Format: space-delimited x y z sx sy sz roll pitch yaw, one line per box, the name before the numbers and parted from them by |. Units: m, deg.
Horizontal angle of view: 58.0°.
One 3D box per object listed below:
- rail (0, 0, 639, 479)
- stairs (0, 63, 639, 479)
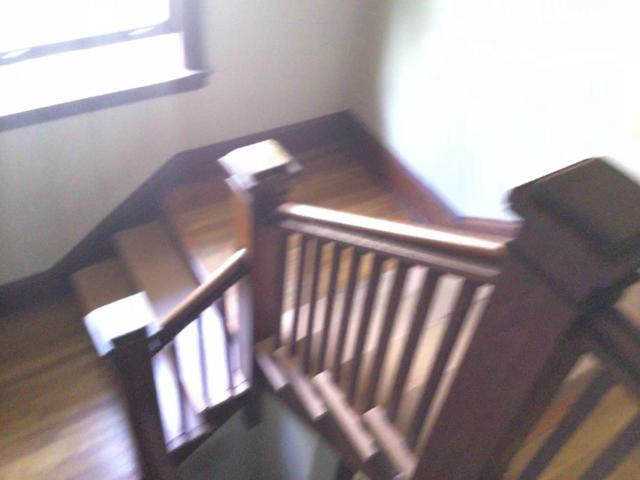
rail | -0.120 0.870 1.870 2.710 2.810 1.910 -21 45 -22
stairs | -0.530 0.660 2.590 2.910 1.580 2.100 -21 45 -22
